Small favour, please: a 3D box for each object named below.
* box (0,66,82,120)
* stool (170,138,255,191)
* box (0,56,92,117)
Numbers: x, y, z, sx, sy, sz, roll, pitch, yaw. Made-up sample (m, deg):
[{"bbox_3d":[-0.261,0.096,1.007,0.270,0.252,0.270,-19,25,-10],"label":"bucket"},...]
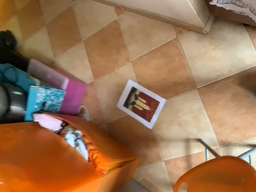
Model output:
[{"bbox_3d":[-0.570,-0.020,1.350,0.330,0.380,0.200,23,100,28],"label":"box"},{"bbox_3d":[0.400,0.360,0.900,0.280,0.430,0.290,-9,84,29],"label":"stool"},{"bbox_3d":[-0.560,-0.050,1.470,0.250,0.540,0.270,32,103,26],"label":"box"}]
